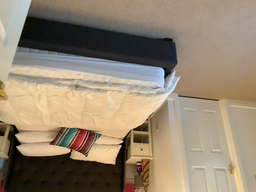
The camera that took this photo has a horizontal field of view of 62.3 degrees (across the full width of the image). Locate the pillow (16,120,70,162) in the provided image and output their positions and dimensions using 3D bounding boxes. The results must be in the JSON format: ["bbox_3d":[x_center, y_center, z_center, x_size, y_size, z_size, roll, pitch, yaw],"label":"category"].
[{"bbox_3d":[-1.180,0.640,3.010,0.640,0.480,0.290,5,-161,-9],"label":"pillow"}]

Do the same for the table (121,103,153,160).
[{"bbox_3d":[0.130,0.610,3.520,0.370,0.790,0.560,6,153,-12],"label":"table"}]

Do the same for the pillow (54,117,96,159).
[{"bbox_3d":[-0.720,0.560,2.900,0.240,0.380,0.490,21,-159,38],"label":"pillow"}]

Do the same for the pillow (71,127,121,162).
[{"bbox_3d":[-0.490,0.730,3.210,0.690,0.430,0.240,3,-164,-14],"label":"pillow"}]
